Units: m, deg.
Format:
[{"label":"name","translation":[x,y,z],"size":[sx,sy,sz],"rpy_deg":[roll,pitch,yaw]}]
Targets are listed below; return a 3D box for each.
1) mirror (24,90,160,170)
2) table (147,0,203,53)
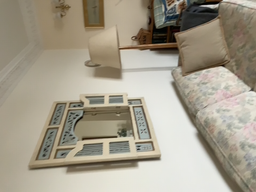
[{"label":"mirror","translation":[-0.260,0.210,1.780],"size":[0.890,0.870,0.100],"rpy_deg":[-101,10,-61]},{"label":"table","translation":[0.720,-1.350,3.290],"size":[0.290,0.750,1.290],"rpy_deg":[-100,9,-61]}]
